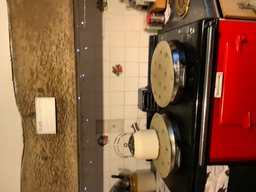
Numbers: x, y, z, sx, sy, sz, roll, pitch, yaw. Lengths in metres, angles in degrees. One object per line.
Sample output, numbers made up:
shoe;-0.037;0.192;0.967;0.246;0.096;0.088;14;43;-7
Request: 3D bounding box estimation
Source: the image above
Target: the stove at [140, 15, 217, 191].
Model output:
stove;0.230;0.110;1.290;0.710;0.120;1.020;-135;44;-74
